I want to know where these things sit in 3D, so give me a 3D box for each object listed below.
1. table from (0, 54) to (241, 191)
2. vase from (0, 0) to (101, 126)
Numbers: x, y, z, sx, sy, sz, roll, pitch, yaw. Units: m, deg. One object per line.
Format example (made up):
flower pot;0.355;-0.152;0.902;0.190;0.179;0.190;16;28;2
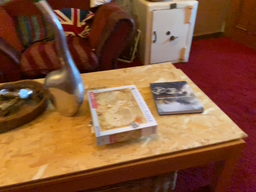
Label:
table;-0.290;0.200;1.370;1.490;0.450;0.930;-9;36;-12
vase;-0.420;-0.300;0.980;0.500;0.820;0.300;-7;35;-10
